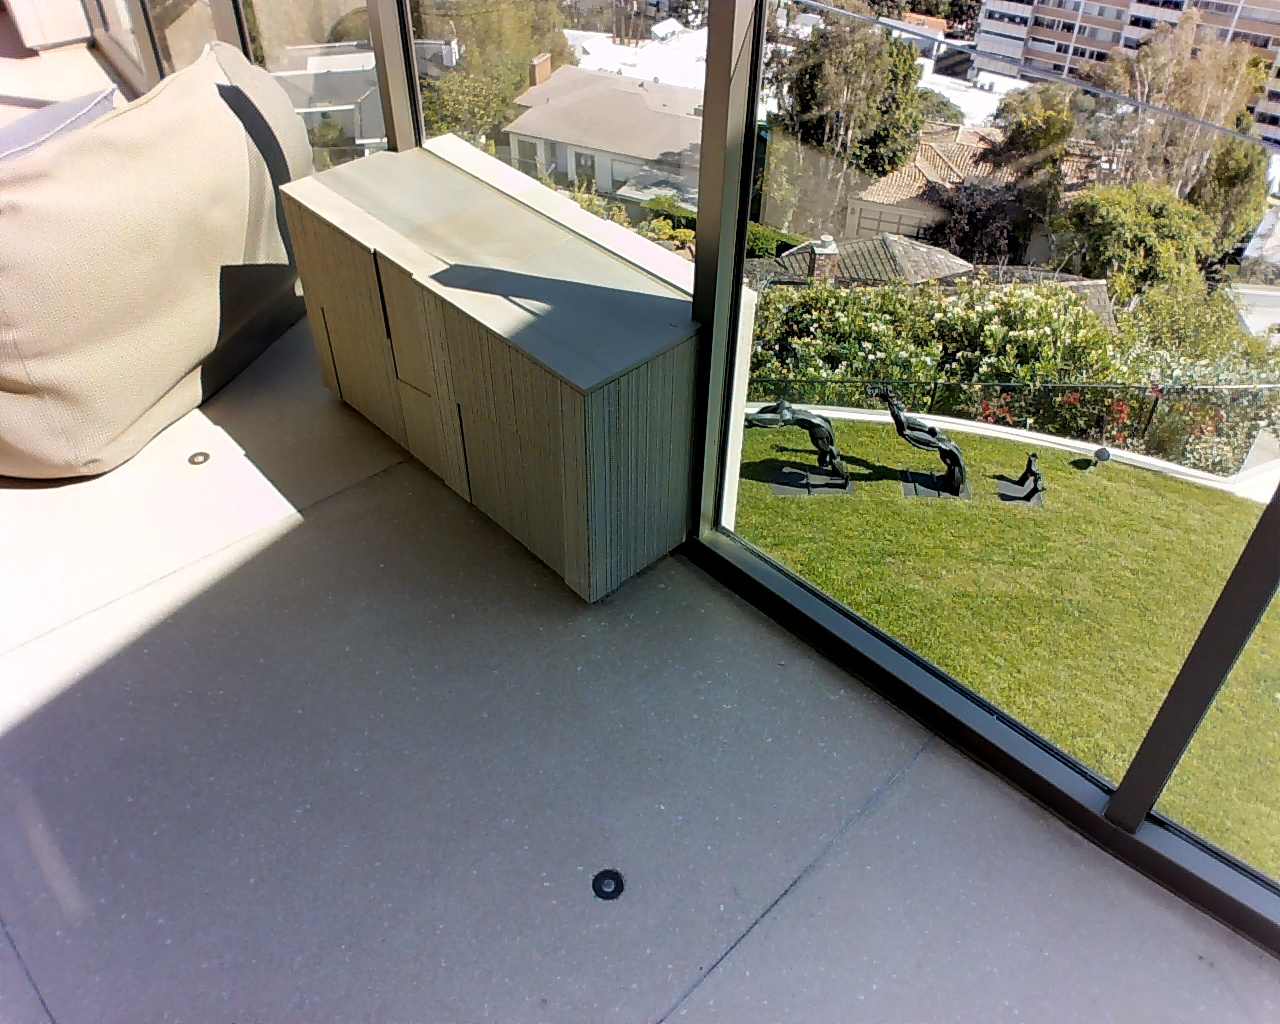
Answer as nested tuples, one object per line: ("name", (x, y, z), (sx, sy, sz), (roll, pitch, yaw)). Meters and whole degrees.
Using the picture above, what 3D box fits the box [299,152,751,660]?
("box", (-0.240, -0.240, 2.130), (0.350, 0.590, 0.870), (-31, 51, -30))
